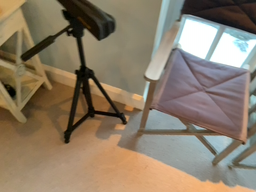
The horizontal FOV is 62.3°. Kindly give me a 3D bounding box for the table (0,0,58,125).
[{"bbox_3d":[-0.830,-0.250,1.270,0.520,0.690,0.430,17,55,8],"label":"table"}]

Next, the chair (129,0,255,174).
[{"bbox_3d":[0.410,-0.070,1.160,0.600,0.890,0.560,17,55,8],"label":"chair"}]
